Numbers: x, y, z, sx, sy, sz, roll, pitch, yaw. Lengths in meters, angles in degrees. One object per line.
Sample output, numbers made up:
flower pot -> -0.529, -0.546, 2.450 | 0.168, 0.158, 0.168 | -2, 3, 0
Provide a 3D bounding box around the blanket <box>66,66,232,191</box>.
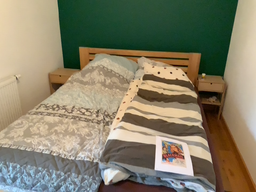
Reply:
blanket -> 0.270, 0.190, 1.970 | 0.780, 0.400, 2.000 | 6, 23, 10
